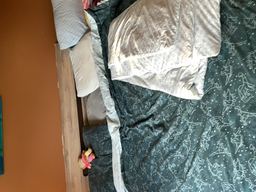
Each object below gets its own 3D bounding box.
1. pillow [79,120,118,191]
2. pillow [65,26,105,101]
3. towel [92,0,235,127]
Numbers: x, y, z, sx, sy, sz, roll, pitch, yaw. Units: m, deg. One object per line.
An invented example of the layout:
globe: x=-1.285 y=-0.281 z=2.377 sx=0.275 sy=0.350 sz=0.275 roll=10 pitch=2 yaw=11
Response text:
pillow: x=-0.300 y=0.620 z=2.040 sx=0.460 sy=0.130 sz=0.700 roll=-26 pitch=70 yaw=55
pillow: x=-0.470 y=-0.310 z=2.210 sx=0.510 sy=0.170 sz=0.600 roll=-29 pitch=67 yaw=54
towel: x=0.080 y=-0.380 z=1.400 sx=1.160 sy=0.130 sz=0.770 roll=26 pitch=113 yaw=54
